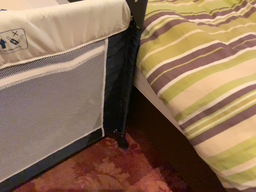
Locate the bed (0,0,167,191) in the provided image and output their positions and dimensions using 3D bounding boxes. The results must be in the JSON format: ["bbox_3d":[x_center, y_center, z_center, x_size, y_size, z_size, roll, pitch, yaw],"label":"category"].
[{"bbox_3d":[-0.550,-0.190,0.860,0.740,0.740,1.030,-26,58,-28],"label":"bed"}]
